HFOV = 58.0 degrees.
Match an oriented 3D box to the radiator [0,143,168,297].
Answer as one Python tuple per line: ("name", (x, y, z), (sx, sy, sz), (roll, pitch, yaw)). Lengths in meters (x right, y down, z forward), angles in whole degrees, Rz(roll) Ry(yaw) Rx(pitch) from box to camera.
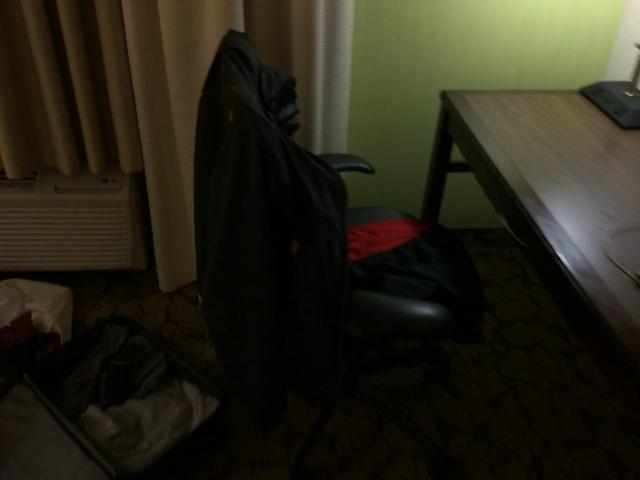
("radiator", (-1.060, -0.050, 1.910), (1.020, 0.440, 0.210), (-4, 35, -8))

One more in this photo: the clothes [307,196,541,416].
("clothes", (0.220, 0.150, 1.480), (0.450, 0.340, 0.410), (-4, 35, -8))

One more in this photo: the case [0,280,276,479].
("case", (-0.600, 0.480, 1.550), (0.700, 0.180, 0.660), (30, 44, 34))

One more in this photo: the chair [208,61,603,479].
("chair", (0.090, 0.120, 1.500), (0.670, 0.930, 0.710), (-4, 35, -8))
